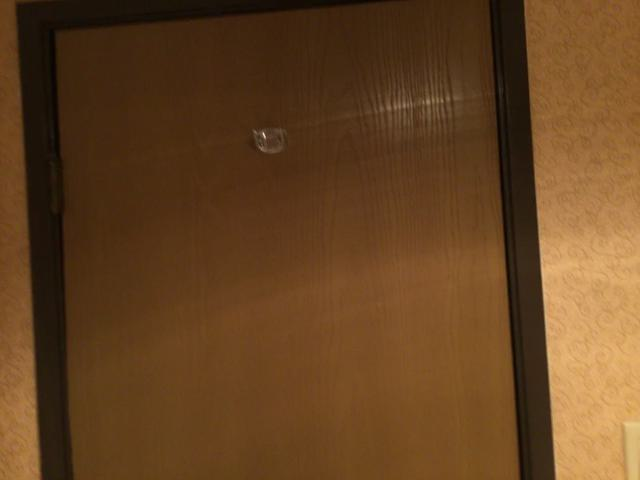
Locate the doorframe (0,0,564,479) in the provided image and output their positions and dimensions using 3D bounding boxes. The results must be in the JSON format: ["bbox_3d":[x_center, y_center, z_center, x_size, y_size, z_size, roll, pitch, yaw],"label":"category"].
[{"bbox_3d":[-0.090,0.530,0.860,0.890,2.000,0.050,-2,-2,3],"label":"doorframe"}]
